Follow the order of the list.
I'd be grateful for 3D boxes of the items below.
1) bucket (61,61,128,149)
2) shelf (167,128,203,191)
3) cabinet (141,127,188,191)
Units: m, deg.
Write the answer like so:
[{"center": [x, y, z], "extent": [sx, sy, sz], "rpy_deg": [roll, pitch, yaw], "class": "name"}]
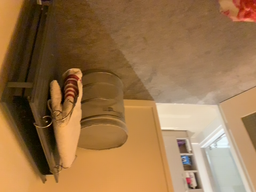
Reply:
[{"center": [-0.290, 0.090, 1.770], "extent": [0.450, 0.550, 0.470], "rpy_deg": [3, 145, -12], "class": "bucket"}, {"center": [0.720, 0.860, 2.760], "extent": [0.200, 0.850, 0.230], "rpy_deg": [2, 145, -11], "class": "shelf"}, {"center": [0.430, 0.840, 2.690], "extent": [0.390, 0.850, 0.270], "rpy_deg": [2, 145, -11], "class": "cabinet"}]
